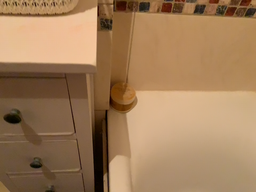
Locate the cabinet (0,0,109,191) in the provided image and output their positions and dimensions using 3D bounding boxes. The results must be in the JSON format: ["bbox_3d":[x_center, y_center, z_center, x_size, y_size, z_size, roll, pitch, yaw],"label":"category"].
[{"bbox_3d":[-0.230,0.190,0.720,0.290,1.010,0.260,0,49,-8],"label":"cabinet"}]
